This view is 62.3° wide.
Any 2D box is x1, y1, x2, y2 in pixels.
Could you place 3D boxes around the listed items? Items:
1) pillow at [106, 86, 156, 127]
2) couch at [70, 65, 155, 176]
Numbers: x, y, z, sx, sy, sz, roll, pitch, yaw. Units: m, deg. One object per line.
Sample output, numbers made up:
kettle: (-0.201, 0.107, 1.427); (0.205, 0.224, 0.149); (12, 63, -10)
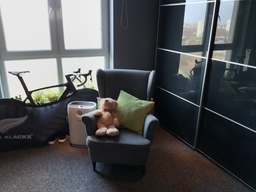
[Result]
pillow: (0.030, 0.140, 2.470); (0.440, 0.420, 0.180); (20, 58, -10)
couch: (-0.130, 0.220, 2.530); (0.780, 0.970, 0.930); (3, 19, 2)
